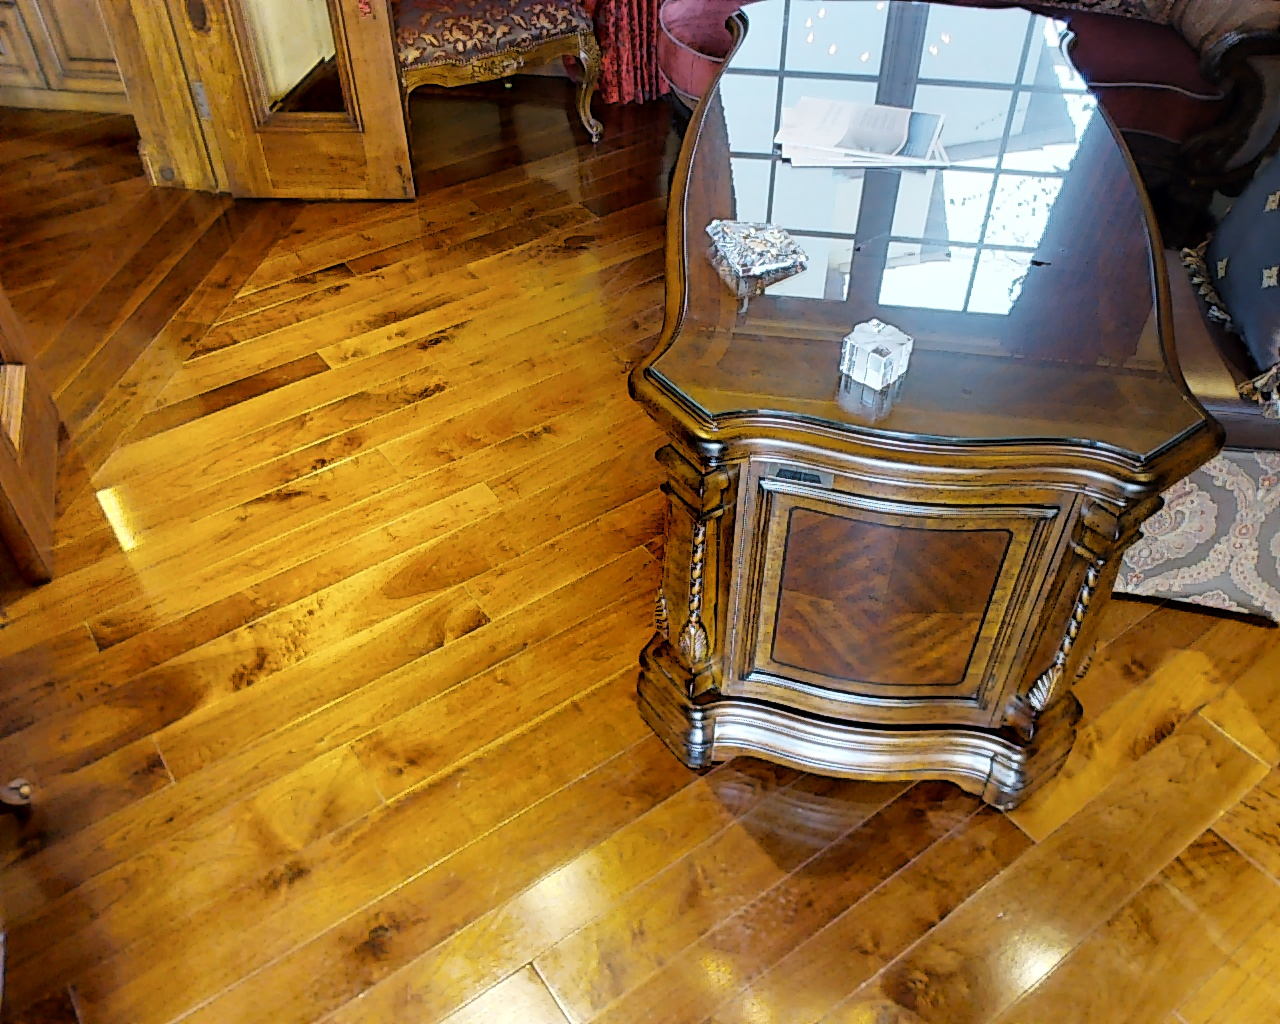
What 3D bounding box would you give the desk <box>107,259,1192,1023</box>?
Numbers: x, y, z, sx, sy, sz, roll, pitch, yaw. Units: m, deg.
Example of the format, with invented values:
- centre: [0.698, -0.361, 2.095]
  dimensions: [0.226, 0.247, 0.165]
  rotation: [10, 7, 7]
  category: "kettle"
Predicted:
- centre: [0.070, 0.490, 1.500]
  dimensions: [0.950, 0.810, 1.740]
  rotation: [6, 44, 7]
  category: "desk"
